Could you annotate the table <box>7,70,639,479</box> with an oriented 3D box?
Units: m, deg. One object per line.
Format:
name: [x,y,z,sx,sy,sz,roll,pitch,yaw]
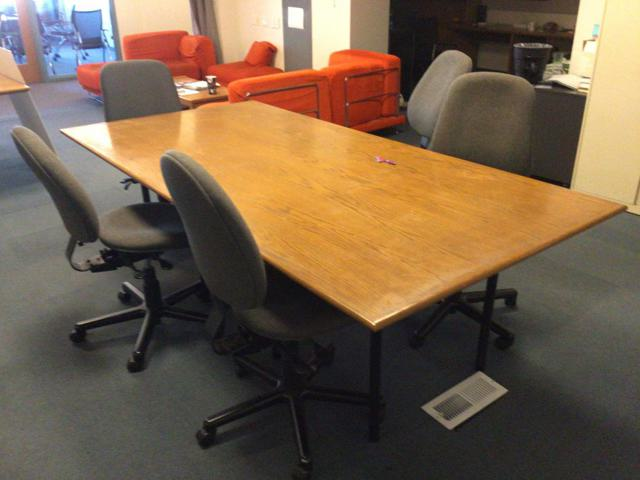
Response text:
table: [-0.190,-0.040,2.440,1.320,0.770,2.770,-29,33,-28]

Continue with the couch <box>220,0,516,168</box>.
couch: [0.370,-1.500,5.130,1.960,0.810,1.580,-18,33,-21]

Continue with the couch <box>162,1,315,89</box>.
couch: [-0.990,-2.430,7.150,1.550,0.660,0.950,-18,33,-21]

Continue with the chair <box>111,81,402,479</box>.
chair: [-0.170,0.110,1.860,0.630,1.000,0.590,-18,33,-22]

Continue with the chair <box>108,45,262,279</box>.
chair: [-0.760,-0.460,3.300,0.590,1.060,0.680,-13,31,-14]

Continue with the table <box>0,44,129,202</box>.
table: [-2.370,-0.960,4.640,1.260,0.800,1.170,-18,33,-21]
